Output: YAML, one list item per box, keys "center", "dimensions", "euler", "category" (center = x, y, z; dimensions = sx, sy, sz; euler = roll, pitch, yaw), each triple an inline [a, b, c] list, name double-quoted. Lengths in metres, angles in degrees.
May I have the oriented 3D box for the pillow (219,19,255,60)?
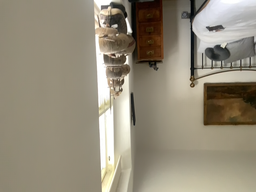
- center: [1.590, -0.750, 2.890]
  dimensions: [0.480, 0.480, 0.180]
  euler: [12, -115, 0]
  category: "pillow"
